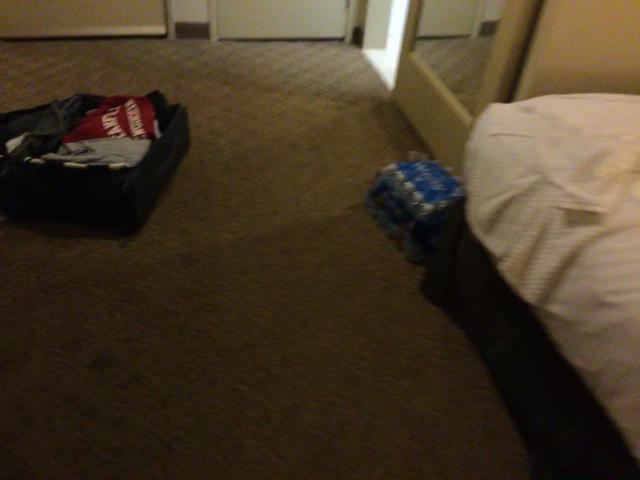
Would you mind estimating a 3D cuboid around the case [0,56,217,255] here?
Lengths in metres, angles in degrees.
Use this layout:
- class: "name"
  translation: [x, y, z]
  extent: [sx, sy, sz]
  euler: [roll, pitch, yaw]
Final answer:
- class: "case"
  translation: [-0.940, -0.360, 2.090]
  extent: [0.950, 0.260, 0.900]
  euler: [6, 35, 0]

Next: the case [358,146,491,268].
- class: "case"
  translation: [0.340, -0.130, 2.010]
  extent: [0.290, 0.220, 0.430]
  euler: [-3, 36, -13]

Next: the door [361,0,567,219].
- class: "door"
  translation: [0.490, -1.050, 2.110]
  extent: [0.170, 1.510, 1.240]
  euler: [-3, 36, -13]
